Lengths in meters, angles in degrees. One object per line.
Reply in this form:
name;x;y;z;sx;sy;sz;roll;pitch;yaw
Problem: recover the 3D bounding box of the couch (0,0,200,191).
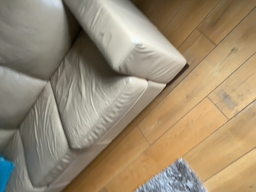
couch;-0.730;0.200;1.620;2.210;0.820;0.950;-48;61;25
